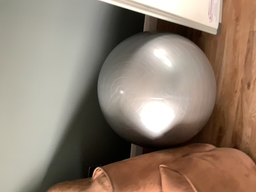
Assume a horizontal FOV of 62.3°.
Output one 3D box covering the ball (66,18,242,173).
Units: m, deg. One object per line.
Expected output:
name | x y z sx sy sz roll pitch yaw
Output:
ball | 0.110 -0.030 1.000 0.500 0.590 0.460 14 101 50
